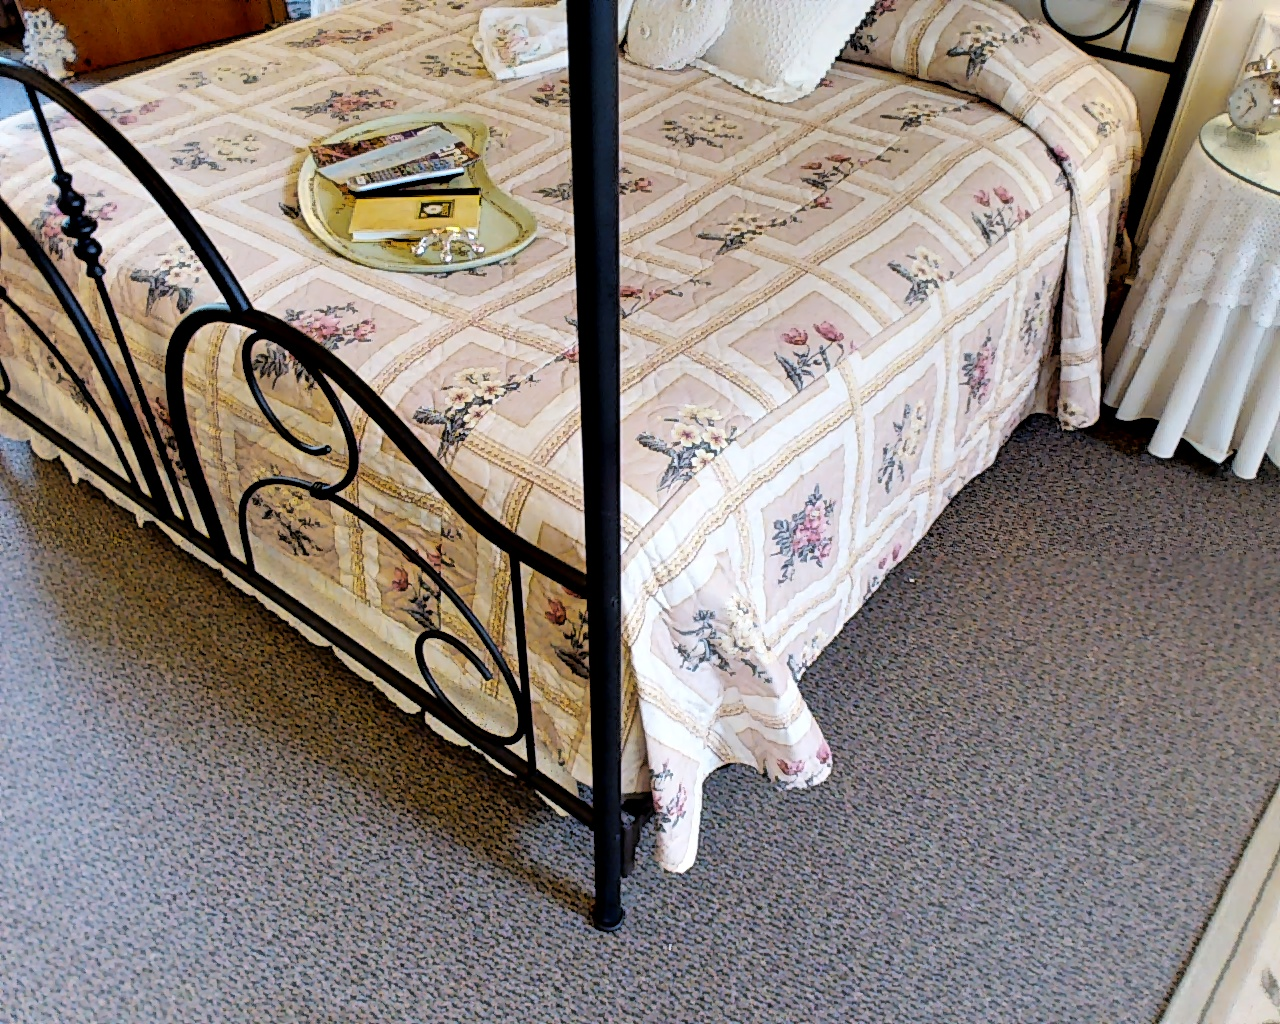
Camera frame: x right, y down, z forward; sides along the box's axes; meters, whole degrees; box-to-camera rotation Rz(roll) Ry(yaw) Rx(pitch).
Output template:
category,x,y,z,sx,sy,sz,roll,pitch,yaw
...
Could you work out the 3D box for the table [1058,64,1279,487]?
category,x,y,z,sx,sy,sz,roll,pitch,yaw
table,1.410,-0.520,2.390,0.610,0.640,0.560,27,49,27
